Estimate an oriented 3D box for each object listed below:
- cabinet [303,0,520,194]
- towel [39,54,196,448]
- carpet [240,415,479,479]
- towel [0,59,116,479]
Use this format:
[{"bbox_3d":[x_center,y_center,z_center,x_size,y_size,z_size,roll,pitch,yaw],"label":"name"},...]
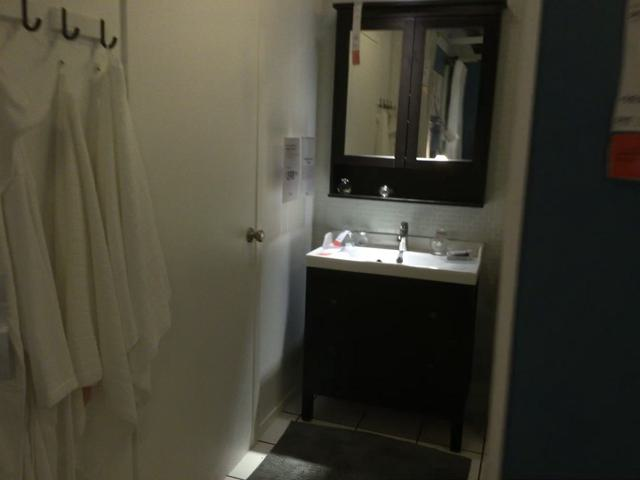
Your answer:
[{"bbox_3d":[0.440,-0.720,2.830,0.970,0.930,0.360,3,11,20],"label":"cabinet"},{"bbox_3d":[-0.520,0.020,1.570,0.140,0.960,0.360,3,11,20],"label":"towel"},{"bbox_3d":[0.170,1.030,2.450,0.910,0.100,0.750,3,11,20],"label":"carpet"},{"bbox_3d":[-0.650,0.120,1.210,0.190,0.940,0.330,3,11,20],"label":"towel"}]
